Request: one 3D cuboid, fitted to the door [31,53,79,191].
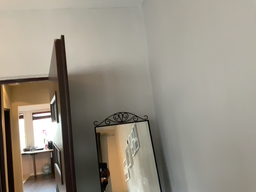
[{"bbox_3d":[-0.350,0.810,1.270,0.150,1.900,0.910,-5,-5,-15],"label":"door"}]
